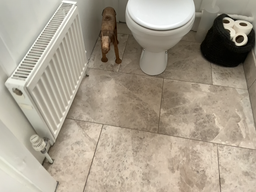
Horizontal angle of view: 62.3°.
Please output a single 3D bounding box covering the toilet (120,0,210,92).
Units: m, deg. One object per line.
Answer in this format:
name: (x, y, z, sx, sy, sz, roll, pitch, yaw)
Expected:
toilet: (0.190, -0.540, 1.210, 0.360, 0.770, 0.660, 8, 53, 4)
